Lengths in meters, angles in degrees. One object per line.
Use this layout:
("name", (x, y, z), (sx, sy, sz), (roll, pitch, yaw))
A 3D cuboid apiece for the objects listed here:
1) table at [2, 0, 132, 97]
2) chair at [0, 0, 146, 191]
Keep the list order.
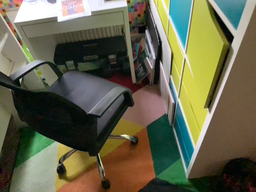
("table", (-0.410, -0.520, 1.810), (0.770, 0.740, 0.620), (-8, 51, 0))
("chair", (-0.320, 0.040, 1.210), (0.610, 0.960, 0.640), (19, 56, 20))
